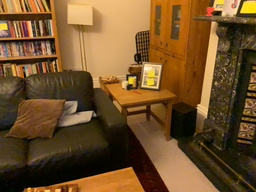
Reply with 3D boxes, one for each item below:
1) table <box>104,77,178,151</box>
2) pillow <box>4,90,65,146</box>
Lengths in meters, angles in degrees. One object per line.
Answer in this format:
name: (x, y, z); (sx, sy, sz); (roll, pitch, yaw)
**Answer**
table: (0.110, 0.160, 2.440); (0.620, 0.540, 0.620); (-7, 24, -19)
pillow: (-0.790, 0.180, 1.840); (0.440, 0.140, 0.380); (-13, 52, -2)
